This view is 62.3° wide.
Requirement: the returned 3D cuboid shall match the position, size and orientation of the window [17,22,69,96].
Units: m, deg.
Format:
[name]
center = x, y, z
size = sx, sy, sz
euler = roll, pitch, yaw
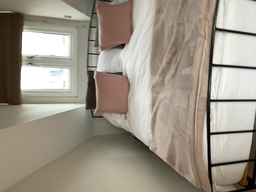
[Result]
[window]
center = -1.170, -0.490, 2.960
size = 0.090, 0.650, 0.960
euler = -154, 67, -68
